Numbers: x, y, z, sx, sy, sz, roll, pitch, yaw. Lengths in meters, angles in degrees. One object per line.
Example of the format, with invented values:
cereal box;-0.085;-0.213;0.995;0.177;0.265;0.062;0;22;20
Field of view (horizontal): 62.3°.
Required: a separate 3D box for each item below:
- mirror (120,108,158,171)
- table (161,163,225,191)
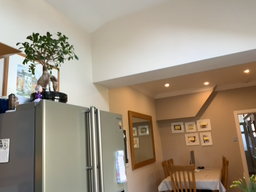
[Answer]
mirror;0.290;0.940;4.740;0.170;1.180;1.540;-10;-13;25
table;1.480;1.990;4.560;1.040;0.830;1.690;-9;-13;23
